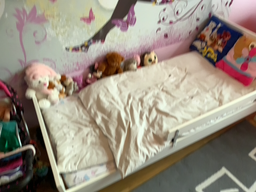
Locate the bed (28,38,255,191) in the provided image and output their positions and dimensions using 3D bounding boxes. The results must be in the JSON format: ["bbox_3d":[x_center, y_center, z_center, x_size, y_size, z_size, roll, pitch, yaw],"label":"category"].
[{"bbox_3d":[0.210,0.090,1.690,1.670,0.420,0.800,-20,47,-20],"label":"bed"}]
